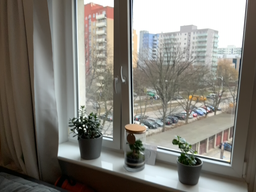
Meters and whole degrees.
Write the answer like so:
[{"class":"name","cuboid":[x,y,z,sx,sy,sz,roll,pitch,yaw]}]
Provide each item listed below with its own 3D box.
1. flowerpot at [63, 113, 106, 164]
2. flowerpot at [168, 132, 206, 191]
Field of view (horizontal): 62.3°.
[{"class":"flowerpot","cuboid":[-0.350,0.330,1.720,0.270,0.320,0.200,5,10,21]},{"class":"flowerpot","cuboid":[0.420,0.450,1.480,0.210,0.290,0.290,5,10,21]}]
